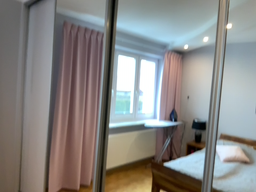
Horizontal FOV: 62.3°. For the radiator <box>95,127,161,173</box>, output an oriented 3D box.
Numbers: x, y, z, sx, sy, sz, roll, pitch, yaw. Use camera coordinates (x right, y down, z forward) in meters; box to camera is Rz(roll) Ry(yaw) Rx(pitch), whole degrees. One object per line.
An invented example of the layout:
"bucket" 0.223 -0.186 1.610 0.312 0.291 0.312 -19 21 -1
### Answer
"radiator" 0.080 1.060 4.450 1.670 0.650 0.210 2 4 -45
